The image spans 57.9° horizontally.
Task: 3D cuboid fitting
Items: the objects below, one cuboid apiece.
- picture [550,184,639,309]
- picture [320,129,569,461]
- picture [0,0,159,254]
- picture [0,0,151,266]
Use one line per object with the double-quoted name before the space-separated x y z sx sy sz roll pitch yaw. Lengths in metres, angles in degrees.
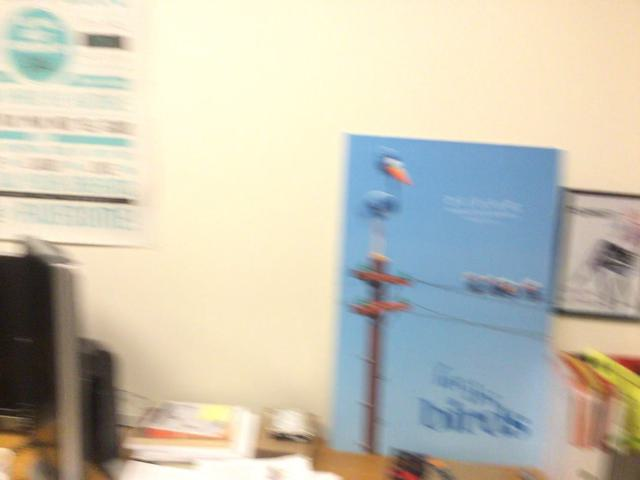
"picture" 0.790 0.020 1.610 0.240 0.330 0.030 4 11 -3
"picture" 0.330 0.160 1.610 0.600 0.880 0.100 3 6 -3
"picture" -0.730 -0.410 1.520 0.580 0.860 0.050 4 11 -3
"picture" -0.750 -0.390 1.530 0.580 0.900 0.010 4 11 -3
